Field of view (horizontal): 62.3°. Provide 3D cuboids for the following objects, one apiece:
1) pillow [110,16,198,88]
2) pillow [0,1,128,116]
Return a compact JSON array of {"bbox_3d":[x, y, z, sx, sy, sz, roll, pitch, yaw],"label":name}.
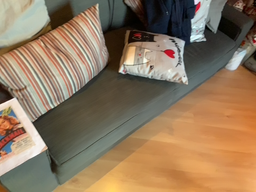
[{"bbox_3d":[0.160,-0.290,1.340,0.480,0.140,0.420,9,51,-2],"label":"pillow"},{"bbox_3d":[-0.320,-0.190,1.070,0.580,0.330,0.200,-38,86,-28],"label":"pillow"}]
